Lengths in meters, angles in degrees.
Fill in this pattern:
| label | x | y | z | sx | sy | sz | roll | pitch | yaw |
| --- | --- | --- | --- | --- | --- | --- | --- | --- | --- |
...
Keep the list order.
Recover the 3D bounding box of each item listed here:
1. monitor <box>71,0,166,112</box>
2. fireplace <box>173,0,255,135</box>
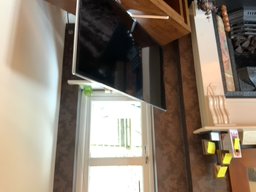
| label | x | y | z | sx | sy | sz | roll | pitch | yaw |
| --- | --- | --- | --- | --- | --- | --- | --- | --- | --- |
| monitor | 0.020 | -0.280 | 1.370 | 0.080 | 0.600 | 0.920 | -10 | 161 | 29 |
| fireplace | 1.160 | -0.280 | 1.920 | 1.330 | 1.200 | 0.390 | 0 | 163 | -2 |
